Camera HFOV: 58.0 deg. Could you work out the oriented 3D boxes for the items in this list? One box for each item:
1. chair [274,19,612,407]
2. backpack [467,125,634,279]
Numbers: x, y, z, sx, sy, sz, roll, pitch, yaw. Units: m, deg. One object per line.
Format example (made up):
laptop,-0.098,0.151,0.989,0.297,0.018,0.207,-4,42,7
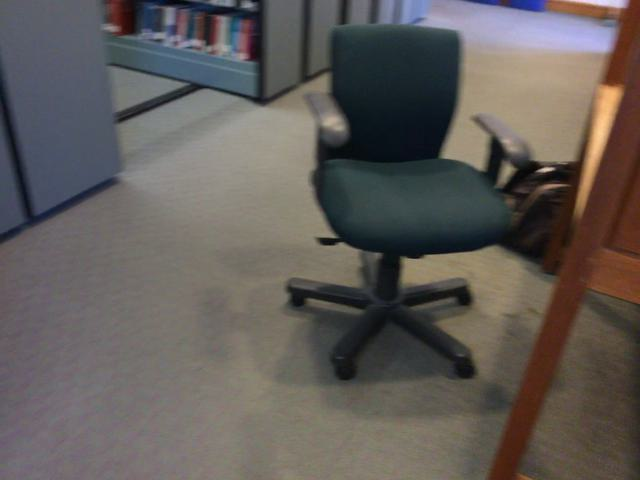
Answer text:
chair,0.240,-0.110,1.740,0.660,0.920,0.660,-4,32,-12
backpack,0.940,-0.170,2.380,0.470,0.430,0.360,-19,21,-6
